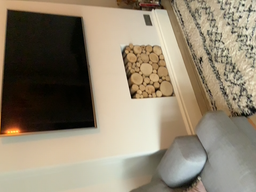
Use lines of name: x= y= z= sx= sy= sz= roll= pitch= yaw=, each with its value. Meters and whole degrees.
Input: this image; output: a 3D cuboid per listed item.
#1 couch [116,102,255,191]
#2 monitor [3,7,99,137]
couch: x=0.540 y=0.780 z=1.480 sx=1.020 sy=0.870 sz=1.020 roll=107 pitch=153 yaw=-43
monitor: x=-0.720 y=-0.300 z=1.910 sx=0.050 sy=0.700 sz=1.250 roll=123 pitch=137 yaw=-59
